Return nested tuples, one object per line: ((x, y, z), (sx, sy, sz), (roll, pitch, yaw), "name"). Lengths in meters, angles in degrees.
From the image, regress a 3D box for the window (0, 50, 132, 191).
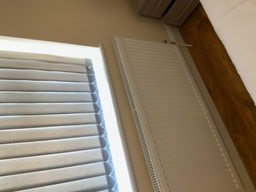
((-0.640, 0.160, 1.040), (0.020, 1.290, 0.970), (-48, 49, 49), "window")
